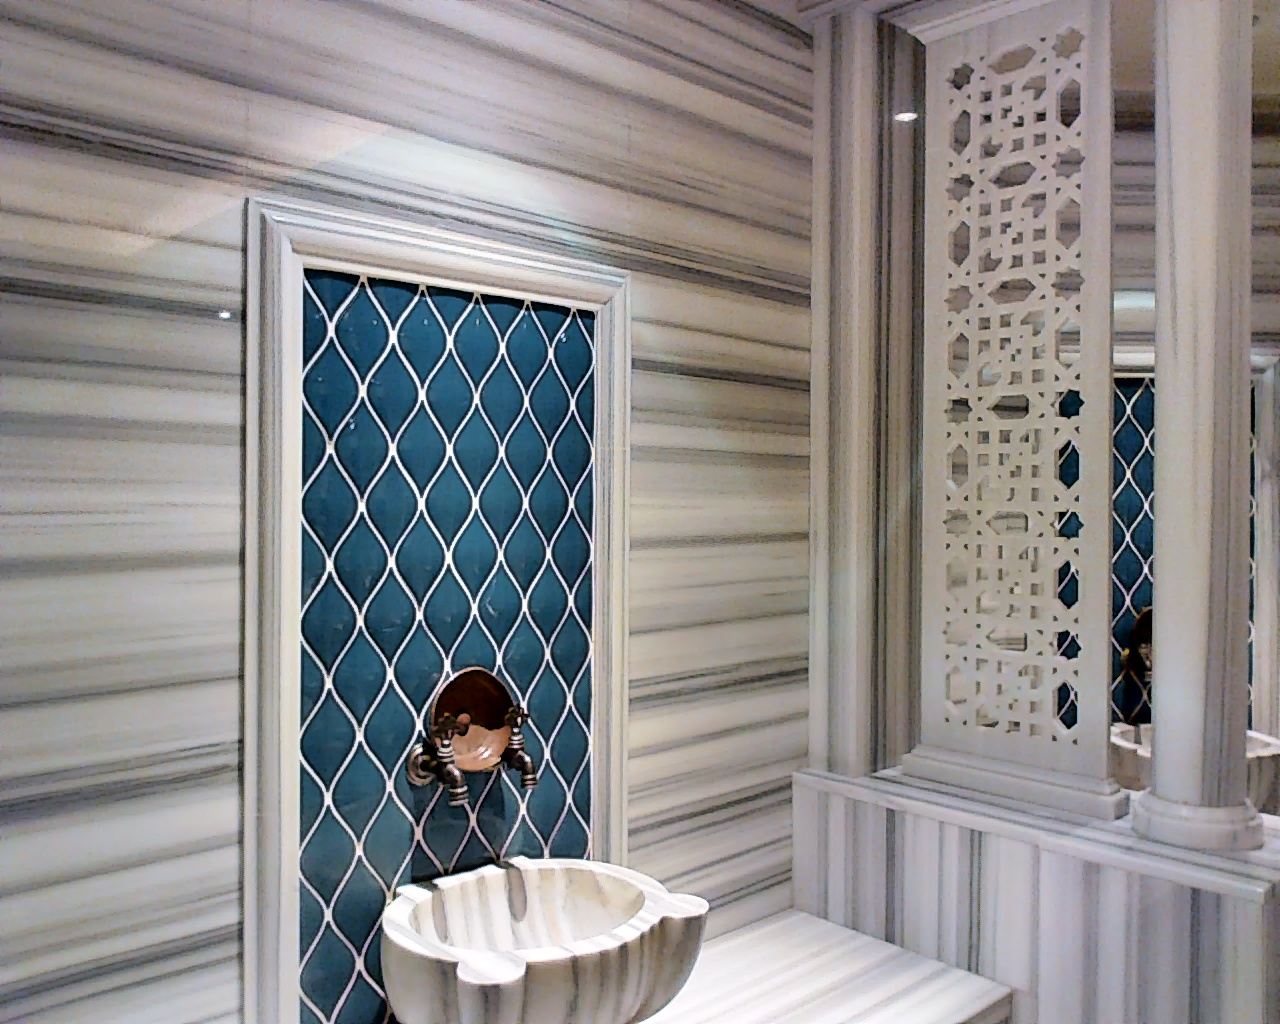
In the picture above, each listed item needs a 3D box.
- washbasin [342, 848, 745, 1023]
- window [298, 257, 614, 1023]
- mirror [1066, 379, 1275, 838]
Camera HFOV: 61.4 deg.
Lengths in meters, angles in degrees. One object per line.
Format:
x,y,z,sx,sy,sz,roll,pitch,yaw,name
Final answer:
-0.180,0.920,2.020,0.570,0.350,0.490,1,0,-42,washbasin
-0.340,0.320,2.180,0.710,1.550,0.030,1,0,-42,window
1.790,0.320,3.640,0.650,1.530,0.070,1,0,2,mirror
